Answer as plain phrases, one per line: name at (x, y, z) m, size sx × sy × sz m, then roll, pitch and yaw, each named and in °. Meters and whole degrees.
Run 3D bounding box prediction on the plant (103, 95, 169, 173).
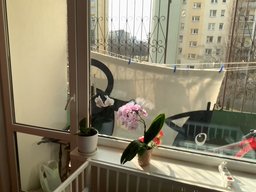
plant at (0.070, 0.270, 1.640) m, size 0.450 × 0.470 × 0.300 m, roll 4°, pitch 13°, yaw 9°
